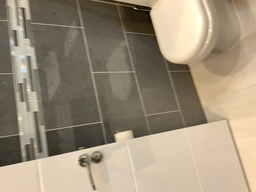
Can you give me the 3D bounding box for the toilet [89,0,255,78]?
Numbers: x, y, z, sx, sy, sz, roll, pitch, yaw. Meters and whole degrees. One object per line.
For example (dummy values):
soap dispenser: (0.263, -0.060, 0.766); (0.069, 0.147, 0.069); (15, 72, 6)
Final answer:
toilet: (0.260, -0.490, 1.240); (0.420, 0.810, 0.630); (-35, 65, 54)
